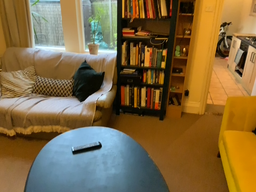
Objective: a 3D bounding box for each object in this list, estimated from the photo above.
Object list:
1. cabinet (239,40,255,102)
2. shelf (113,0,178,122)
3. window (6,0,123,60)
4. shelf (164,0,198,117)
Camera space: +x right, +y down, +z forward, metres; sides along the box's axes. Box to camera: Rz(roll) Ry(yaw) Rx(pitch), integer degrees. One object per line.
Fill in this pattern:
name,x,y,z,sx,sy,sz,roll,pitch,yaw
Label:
cabinet,2.450,-0.470,3.920,0.390,0.950,0.800,8,25,15
shelf,0.190,-0.620,2.600,0.700,1.890,0.310,6,24,8
window,-0.870,-1.530,2.870,1.570,1.940,0.340,5,24,8
shelf,0.650,-0.590,2.620,0.220,1.840,0.150,6,24,8
